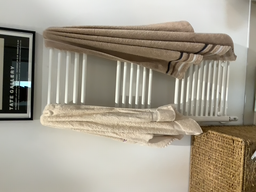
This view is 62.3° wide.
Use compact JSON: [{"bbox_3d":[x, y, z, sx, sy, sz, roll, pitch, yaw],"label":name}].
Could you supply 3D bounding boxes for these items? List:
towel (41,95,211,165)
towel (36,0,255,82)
[{"bbox_3d":[0.030,0.160,1.130,0.150,0.900,0.290,-175,88,-68],"label":"towel"},{"bbox_3d":[0.200,-0.310,1.180,0.200,1.290,0.360,177,95,-68],"label":"towel"}]
